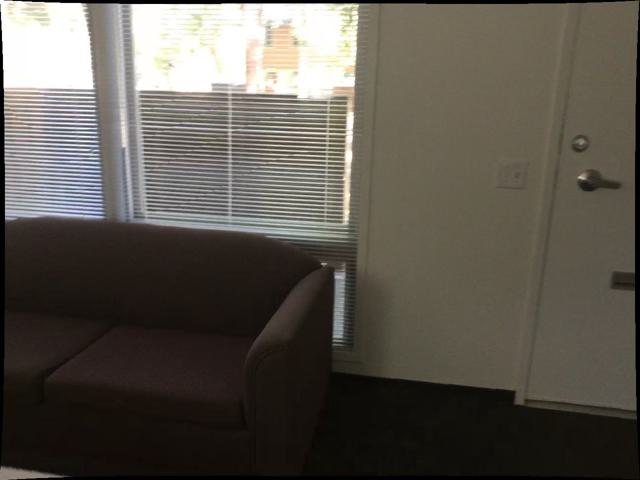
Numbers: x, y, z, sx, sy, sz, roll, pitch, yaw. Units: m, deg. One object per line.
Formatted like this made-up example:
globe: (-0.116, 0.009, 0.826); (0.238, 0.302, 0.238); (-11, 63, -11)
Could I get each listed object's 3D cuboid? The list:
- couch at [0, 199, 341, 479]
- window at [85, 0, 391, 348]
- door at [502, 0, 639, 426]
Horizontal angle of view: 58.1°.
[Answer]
couch: (-0.899, 0.371, 2.470); (1.817, 0.761, 1.030); (4, 19, 10)
window: (-0.349, -0.511, 2.640); (1.258, 1.923, 0.340); (4, 19, 10)
door: (1.328, -0.190, 2.270); (0.939, 2.063, 0.120); (4, 19, 10)
